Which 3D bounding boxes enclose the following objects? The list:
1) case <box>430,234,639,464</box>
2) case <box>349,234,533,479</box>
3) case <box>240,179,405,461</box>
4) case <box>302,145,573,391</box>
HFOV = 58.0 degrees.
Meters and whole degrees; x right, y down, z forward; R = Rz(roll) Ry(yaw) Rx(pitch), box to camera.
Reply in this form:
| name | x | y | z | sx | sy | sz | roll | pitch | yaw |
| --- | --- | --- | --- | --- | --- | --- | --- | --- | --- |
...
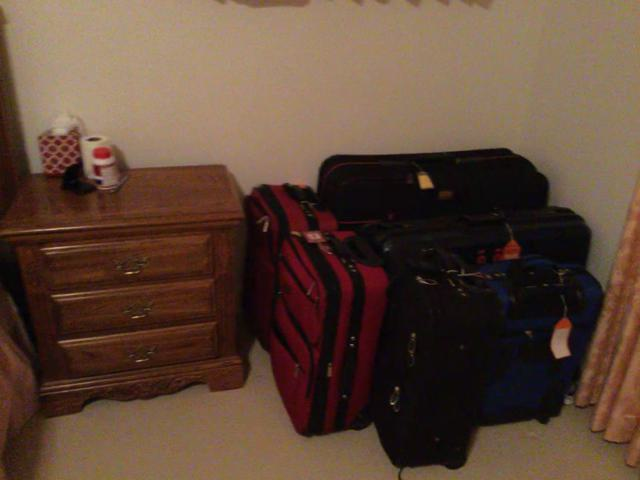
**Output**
| name | x | y | z | sx | sy | sz | roll | pitch | yaw |
| --- | --- | --- | --- | --- | --- | --- | --- | --- | --- |
| case | 0.620 | 0.310 | 1.740 | 0.420 | 0.580 | 0.290 | -2 | 21 | -15 |
| case | 0.310 | 0.340 | 1.660 | 0.310 | 0.620 | 0.370 | -2 | 21 | -15 |
| case | -0.050 | 0.200 | 1.930 | 0.330 | 0.640 | 0.750 | -2 | 21 | -15 |
| case | 0.400 | 0.080 | 2.190 | 0.840 | 0.810 | 0.360 | -2 | 21 | -15 |
